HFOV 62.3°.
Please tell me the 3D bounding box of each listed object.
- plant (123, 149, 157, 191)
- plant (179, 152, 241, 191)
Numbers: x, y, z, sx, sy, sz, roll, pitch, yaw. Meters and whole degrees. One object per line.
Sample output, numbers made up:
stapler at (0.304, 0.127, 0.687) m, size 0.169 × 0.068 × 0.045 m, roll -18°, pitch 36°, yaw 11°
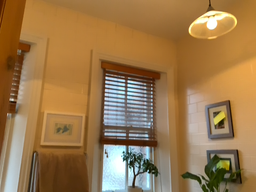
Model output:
plant at (0.120, 0.740, 2.060) m, size 0.300 × 0.440 × 0.140 m, roll 9°, pitch -16°, yaw -30°
plant at (0.670, 0.730, 1.780) m, size 0.190 × 0.490 × 0.460 m, roll 8°, pitch -16°, yaw -28°
